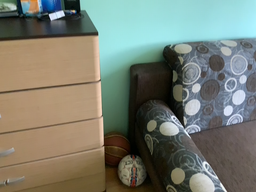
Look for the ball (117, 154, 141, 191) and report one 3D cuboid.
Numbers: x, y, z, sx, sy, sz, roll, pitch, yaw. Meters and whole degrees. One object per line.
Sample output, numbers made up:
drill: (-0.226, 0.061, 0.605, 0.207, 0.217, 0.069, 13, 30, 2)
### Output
ball: (0.000, 0.500, 1.380, 0.110, 0.170, 0.150, -8, 36, -15)
